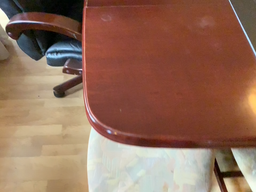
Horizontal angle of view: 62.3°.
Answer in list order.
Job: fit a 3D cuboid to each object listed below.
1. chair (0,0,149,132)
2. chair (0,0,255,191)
[{"bbox_3d":[-0.260,-0.430,1.070,0.640,1.240,0.630,12,57,8],"label":"chair"},{"bbox_3d":[0.070,0.250,0.710,0.520,1.080,0.490,8,57,5],"label":"chair"}]
